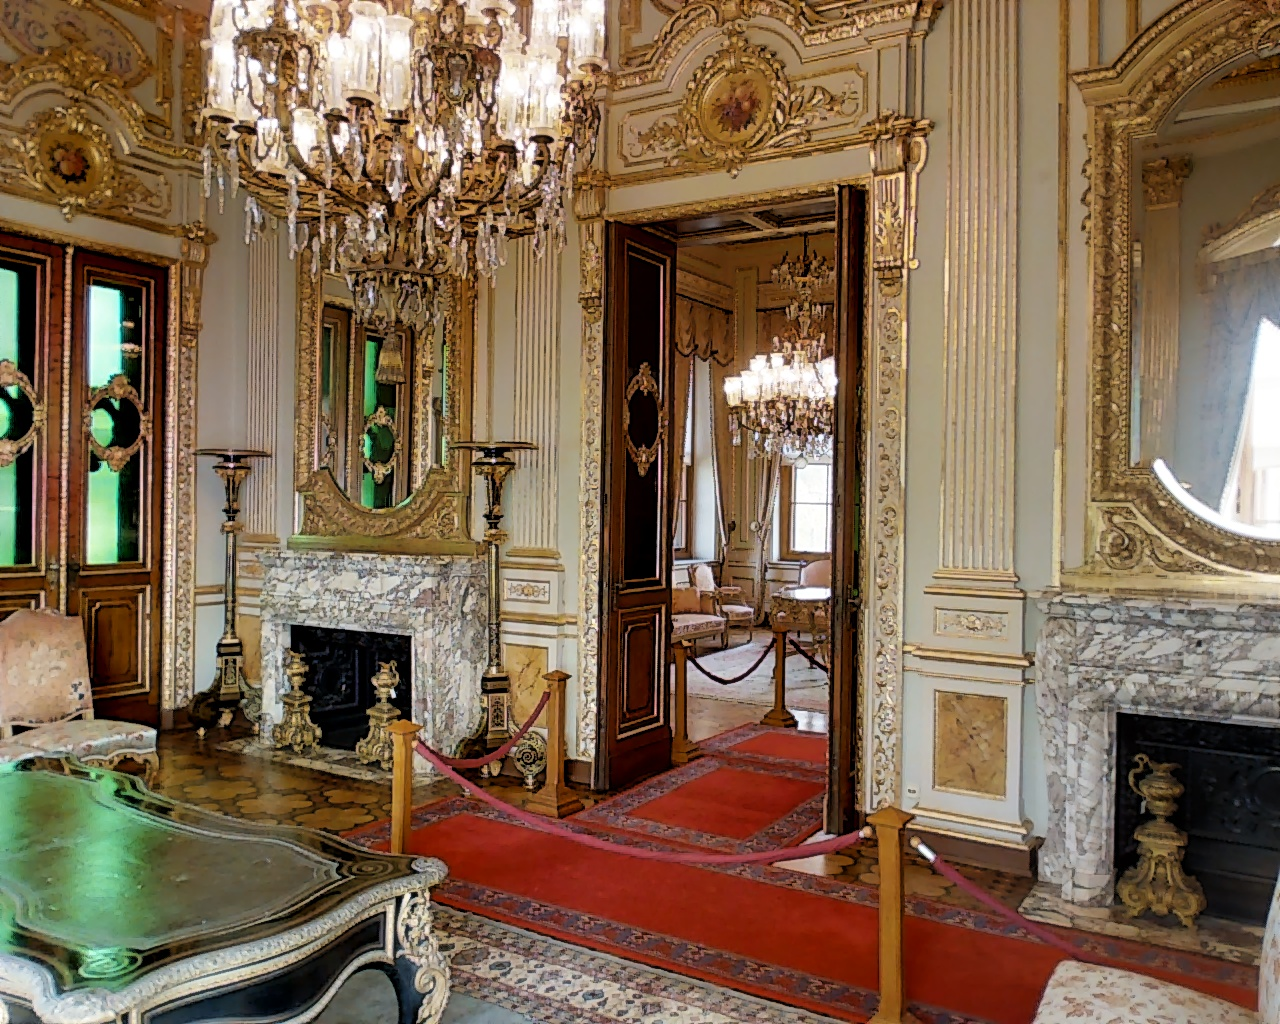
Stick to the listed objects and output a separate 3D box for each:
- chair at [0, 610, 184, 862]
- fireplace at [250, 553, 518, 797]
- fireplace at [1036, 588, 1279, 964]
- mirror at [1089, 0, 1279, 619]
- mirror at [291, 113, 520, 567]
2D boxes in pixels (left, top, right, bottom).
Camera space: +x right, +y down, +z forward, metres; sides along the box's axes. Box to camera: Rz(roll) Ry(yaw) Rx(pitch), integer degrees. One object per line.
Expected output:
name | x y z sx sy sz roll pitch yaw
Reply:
chair | -2.929 1.141 5.730 0.710 1.151 0.620 1 0 32
fireplace | -1.809 1.040 7.420 2.029 1.431 0.510 1 0 32
fireplace | 2.849 1.100 4.470 2.179 1.431 0.550 1 0 32
mirror | 2.899 -1.030 4.550 1.789 2.961 0.270 1 0 32
mirror | -1.679 -1.110 7.500 1.889 2.911 0.260 1 0 32
